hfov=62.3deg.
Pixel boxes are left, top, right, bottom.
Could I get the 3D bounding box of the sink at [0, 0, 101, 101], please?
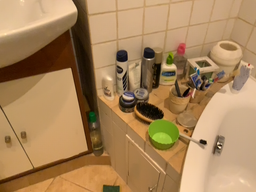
[{"bbox_3d":[-0.480,-0.170,0.680,0.670,0.160,0.430,-16,45,-18],"label":"sink"}]
